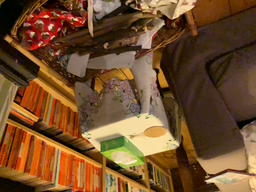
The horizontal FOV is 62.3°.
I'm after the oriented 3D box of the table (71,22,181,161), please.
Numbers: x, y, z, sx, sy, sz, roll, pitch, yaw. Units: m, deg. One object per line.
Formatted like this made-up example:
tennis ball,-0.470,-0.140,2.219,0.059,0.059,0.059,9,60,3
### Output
table,-0.010,-0.010,1.080,0.350,0.510,0.360,-22,139,20
